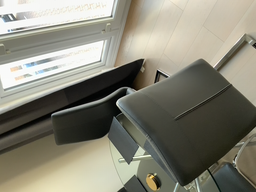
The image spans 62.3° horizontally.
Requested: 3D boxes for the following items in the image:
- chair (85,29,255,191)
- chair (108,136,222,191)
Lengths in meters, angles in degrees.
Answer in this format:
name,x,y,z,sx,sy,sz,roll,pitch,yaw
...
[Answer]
name,x,y,z,sx,sy,sz,roll,pitch,yaw
chair,0.360,0.100,1.100,0.440,1.010,0.540,50,143,21
chair,0.220,0.870,1.780,0.440,0.990,0.550,45,141,27
